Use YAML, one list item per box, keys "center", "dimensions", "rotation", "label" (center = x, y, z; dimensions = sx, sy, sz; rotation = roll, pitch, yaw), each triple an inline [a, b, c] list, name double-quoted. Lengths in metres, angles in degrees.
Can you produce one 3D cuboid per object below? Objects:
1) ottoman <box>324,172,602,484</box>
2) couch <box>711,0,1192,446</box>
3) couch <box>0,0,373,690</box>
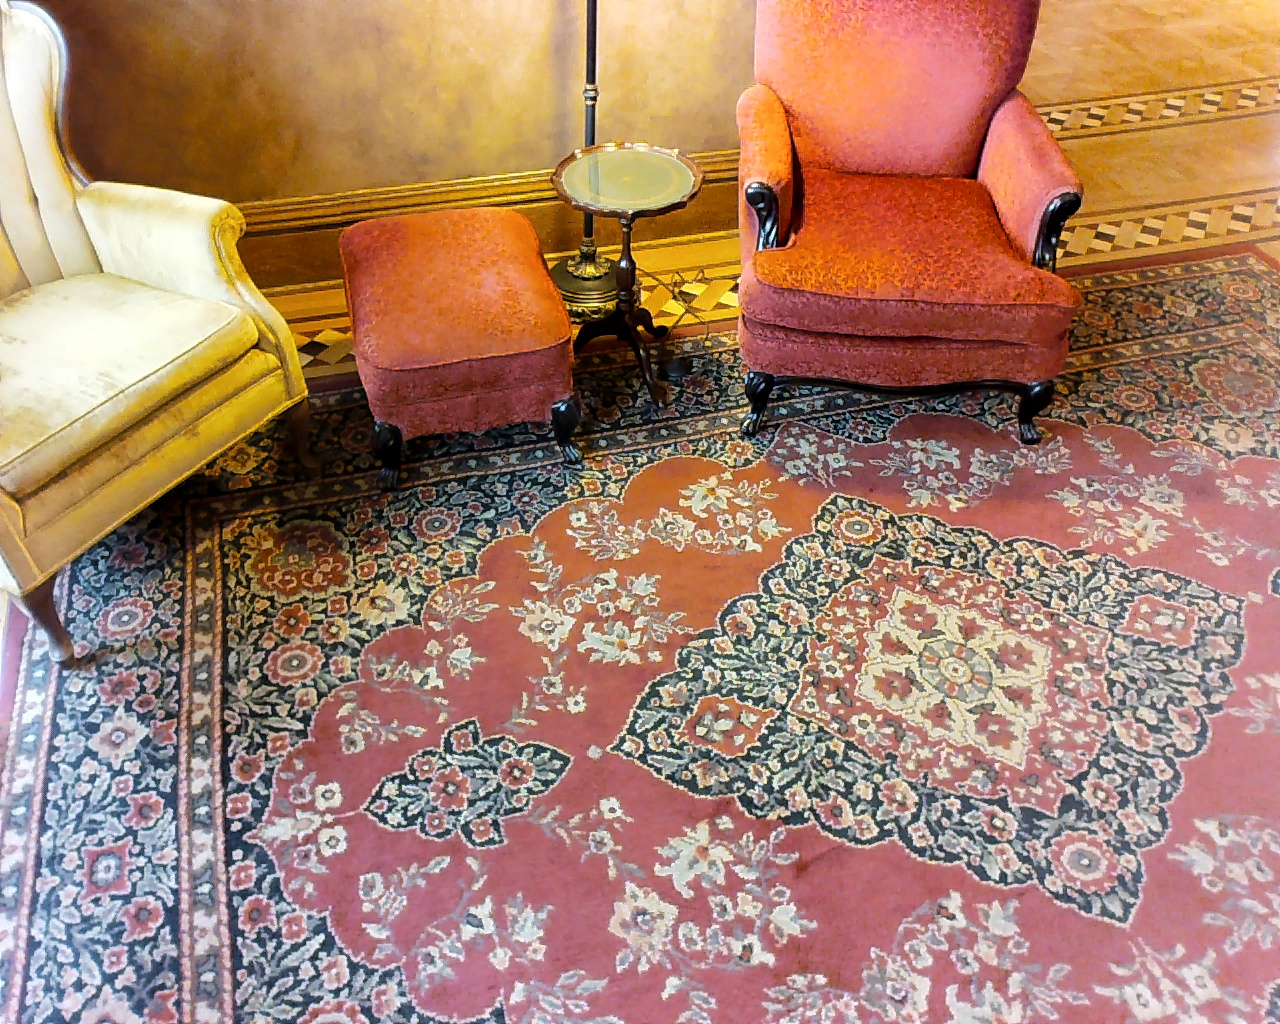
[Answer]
- center: [-0.410, -0.440, 2.460]
  dimensions: [0.530, 0.370, 0.620]
  rotation: [-9, 43, -9]
  label: "ottoman"
- center: [0.590, -0.800, 2.550]
  dimensions: [0.780, 0.840, 0.990]
  rotation: [1, 42, 1]
  label: "couch"
- center: [-1.170, -0.400, 2.000]
  dimensions: [0.860, 0.900, 0.810]
  rotation: [20, 46, 21]
  label: "couch"
